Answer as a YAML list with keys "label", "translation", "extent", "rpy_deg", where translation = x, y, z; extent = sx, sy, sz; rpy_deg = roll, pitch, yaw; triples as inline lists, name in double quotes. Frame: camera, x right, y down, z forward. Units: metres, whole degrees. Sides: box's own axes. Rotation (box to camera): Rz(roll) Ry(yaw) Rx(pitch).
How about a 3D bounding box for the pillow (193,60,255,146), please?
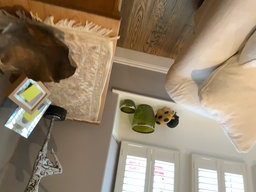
- label: "pillow"
  translation: [0.590, 0.060, 1.120]
  extent: [0.430, 0.300, 0.390]
  rpy_deg: [-4, 151, 23]
